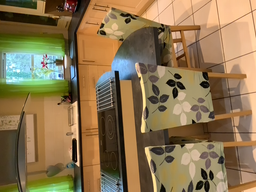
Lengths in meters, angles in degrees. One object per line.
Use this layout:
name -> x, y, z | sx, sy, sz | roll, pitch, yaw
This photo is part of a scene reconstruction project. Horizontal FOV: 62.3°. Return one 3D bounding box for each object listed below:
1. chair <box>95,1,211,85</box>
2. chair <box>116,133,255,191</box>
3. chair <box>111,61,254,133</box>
chair -> 0.220, -0.430, 1.990 | 0.450, 0.930, 0.560 | 158, 109, -64
chair -> 0.450, 0.530, 1.560 | 0.520, 0.920, 0.420 | 159, 108, -63
chair -> 0.400, 0.030, 1.640 | 0.500, 0.920, 0.420 | 159, 108, -63
